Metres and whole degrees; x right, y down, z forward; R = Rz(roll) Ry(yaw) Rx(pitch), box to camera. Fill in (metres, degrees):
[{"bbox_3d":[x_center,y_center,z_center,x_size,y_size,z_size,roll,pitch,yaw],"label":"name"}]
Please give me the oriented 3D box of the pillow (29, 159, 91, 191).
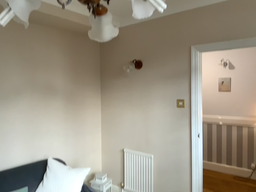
[{"bbox_3d":[-0.680,0.890,2.190,0.480,0.430,0.210,1,37,8],"label":"pillow"}]
